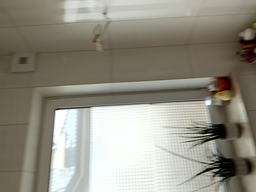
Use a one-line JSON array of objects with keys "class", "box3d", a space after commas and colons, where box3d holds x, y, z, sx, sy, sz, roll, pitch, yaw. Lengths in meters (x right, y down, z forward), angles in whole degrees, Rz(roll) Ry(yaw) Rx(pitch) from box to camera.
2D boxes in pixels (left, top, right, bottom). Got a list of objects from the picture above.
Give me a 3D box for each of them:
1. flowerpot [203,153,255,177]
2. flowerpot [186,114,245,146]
[{"class": "flowerpot", "box3d": [0.680, 0.470, 1.440, 0.160, 0.270, 0.130, 89, 177, -69]}, {"class": "flowerpot", "box3d": [0.630, 0.250, 1.560, 0.140, 0.350, 0.180, 89, 178, -64]}]
